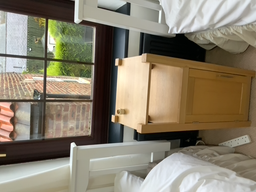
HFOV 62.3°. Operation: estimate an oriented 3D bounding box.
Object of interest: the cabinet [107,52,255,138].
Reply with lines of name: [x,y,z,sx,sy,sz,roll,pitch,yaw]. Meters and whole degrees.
cabinet: [0.340,-0.010,1.290,0.390,0.820,0.370,9,97,60]
